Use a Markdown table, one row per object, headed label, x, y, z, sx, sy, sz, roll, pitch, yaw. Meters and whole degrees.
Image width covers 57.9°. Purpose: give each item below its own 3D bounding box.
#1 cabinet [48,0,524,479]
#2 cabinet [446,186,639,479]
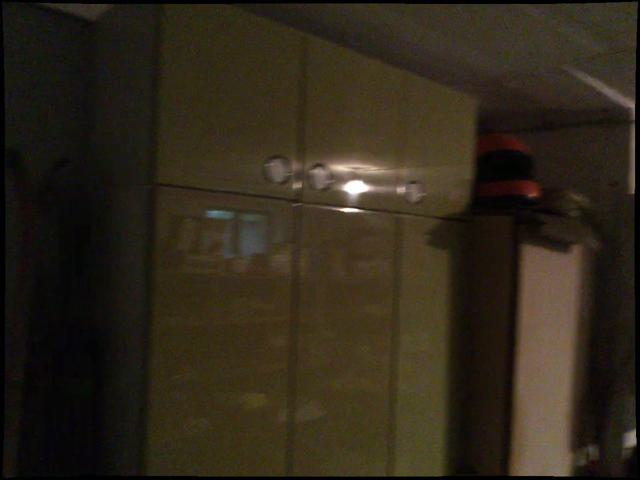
| label | x | y | z | sx | sy | sz | roll | pitch | yaw |
| --- | --- | --- | --- | --- | --- | --- | --- | --- | --- |
| cabinet | -0.030 | 0.561 | 1.500 | 1.139 | 2.072 | 0.460 | 3 | 0 | -41 |
| cabinet | 0.699 | 0.751 | 1.810 | 0.640 | 1.772 | 0.270 | 3 | 0 | -41 |
